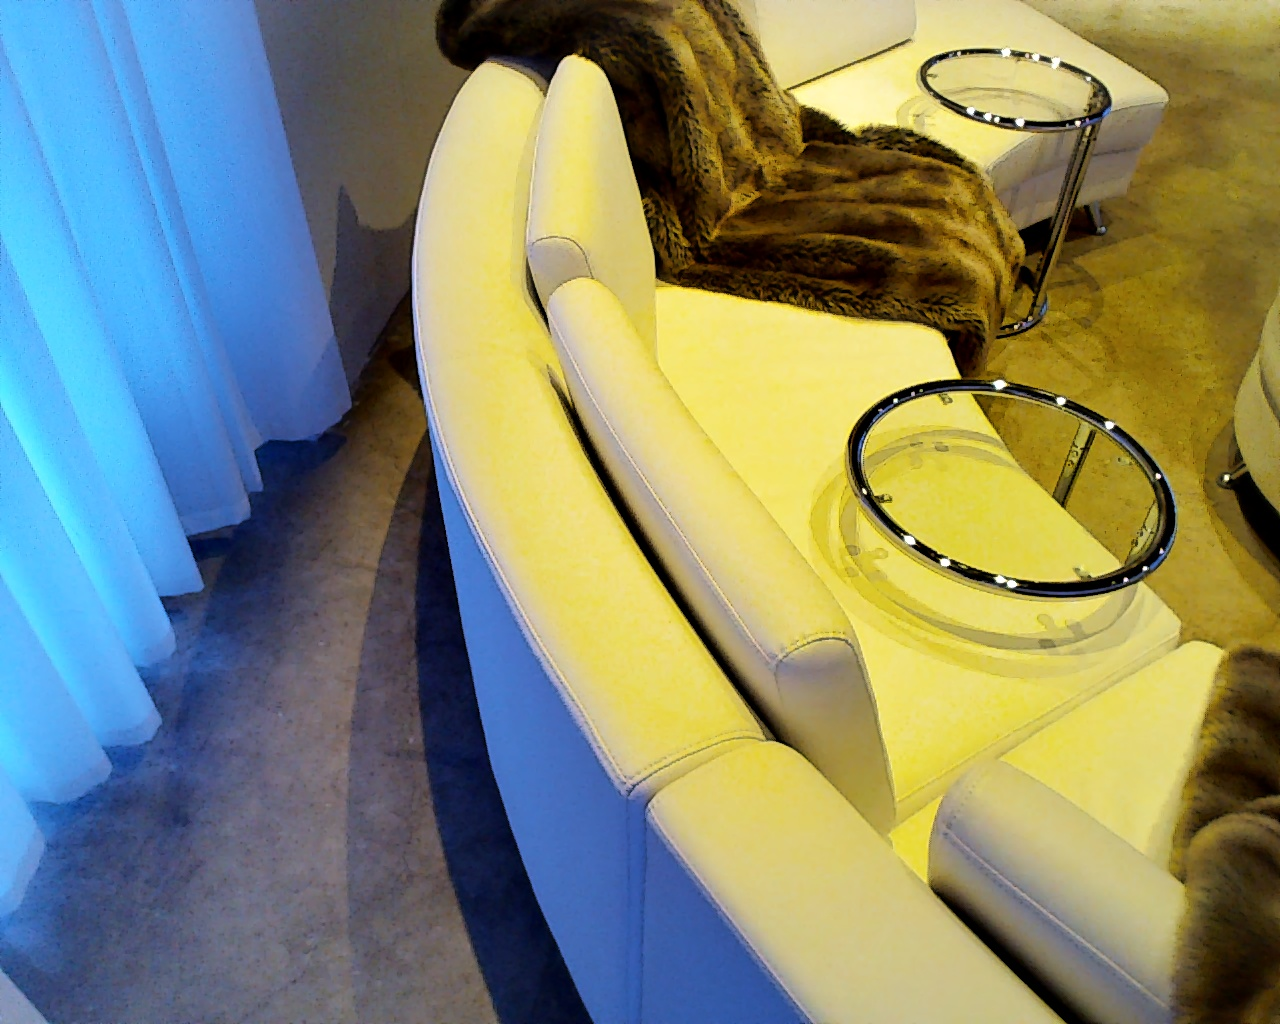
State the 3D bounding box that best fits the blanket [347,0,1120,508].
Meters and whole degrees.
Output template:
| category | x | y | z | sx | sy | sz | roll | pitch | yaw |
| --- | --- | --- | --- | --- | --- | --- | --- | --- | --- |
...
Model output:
| category | x | y | z | sx | sy | sz | roll | pitch | yaw |
| --- | --- | --- | --- | --- | --- | --- | --- | --- | --- |
| blanket | 0.200 | -0.710 | 2.200 | 1.230 | 0.890 | 0.750 | 13 | 44 | 13 |
